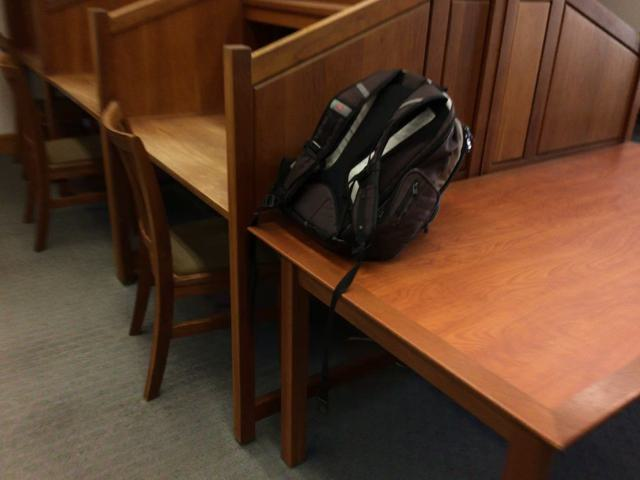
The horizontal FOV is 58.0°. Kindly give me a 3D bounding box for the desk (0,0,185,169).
[{"bbox_3d":[-1.610,-1.340,3.950,0.900,1.380,1.320,-7,24,-33],"label":"desk"}]

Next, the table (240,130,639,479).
[{"bbox_3d":[0.780,0.260,1.720,1.770,0.870,0.960,-11,27,-32],"label":"table"}]

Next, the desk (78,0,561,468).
[{"bbox_3d":[-0.140,-0.320,2.240,1.120,1.430,1.370,-11,27,-32],"label":"desk"}]

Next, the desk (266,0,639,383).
[{"bbox_3d":[0.560,-0.440,2.580,1.040,1.360,1.350,-11,27,-32],"label":"desk"}]
